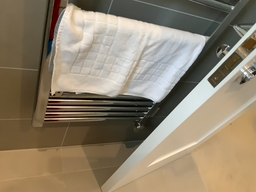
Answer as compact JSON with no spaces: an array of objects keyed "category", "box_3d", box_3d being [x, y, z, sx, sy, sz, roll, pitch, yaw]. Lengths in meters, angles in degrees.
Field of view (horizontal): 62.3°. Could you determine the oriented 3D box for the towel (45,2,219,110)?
[{"category":"towel","box_3d":[0.000,-0.080,0.680,0.470,0.310,0.080,4,52,-26]}]
